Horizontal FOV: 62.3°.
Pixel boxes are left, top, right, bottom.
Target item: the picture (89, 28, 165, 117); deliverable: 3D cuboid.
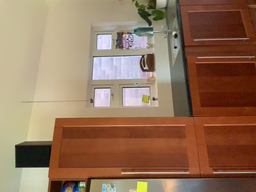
[{"bbox_3d":[-0.020,-0.380,2.990,0.070,0.970,1.360,86,-177,-67],"label":"picture"}]
